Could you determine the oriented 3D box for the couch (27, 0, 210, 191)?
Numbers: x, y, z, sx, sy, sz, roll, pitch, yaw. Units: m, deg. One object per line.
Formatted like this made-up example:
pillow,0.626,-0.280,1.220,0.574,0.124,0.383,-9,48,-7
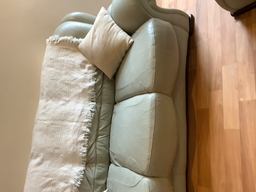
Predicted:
couch,-0.150,0.260,1.650,1.160,0.870,2.040,-12,72,56
